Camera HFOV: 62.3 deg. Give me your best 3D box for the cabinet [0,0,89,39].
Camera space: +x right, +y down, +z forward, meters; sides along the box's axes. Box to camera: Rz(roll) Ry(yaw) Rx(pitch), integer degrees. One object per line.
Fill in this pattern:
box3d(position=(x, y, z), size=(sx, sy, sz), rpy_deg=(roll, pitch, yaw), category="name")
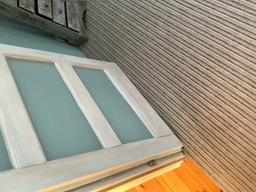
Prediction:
box3d(position=(-0.760, -0.700, 1.640), size=(0.260, 0.930, 0.290), rpy_deg=(-2, 89, 42), category="cabinet")
